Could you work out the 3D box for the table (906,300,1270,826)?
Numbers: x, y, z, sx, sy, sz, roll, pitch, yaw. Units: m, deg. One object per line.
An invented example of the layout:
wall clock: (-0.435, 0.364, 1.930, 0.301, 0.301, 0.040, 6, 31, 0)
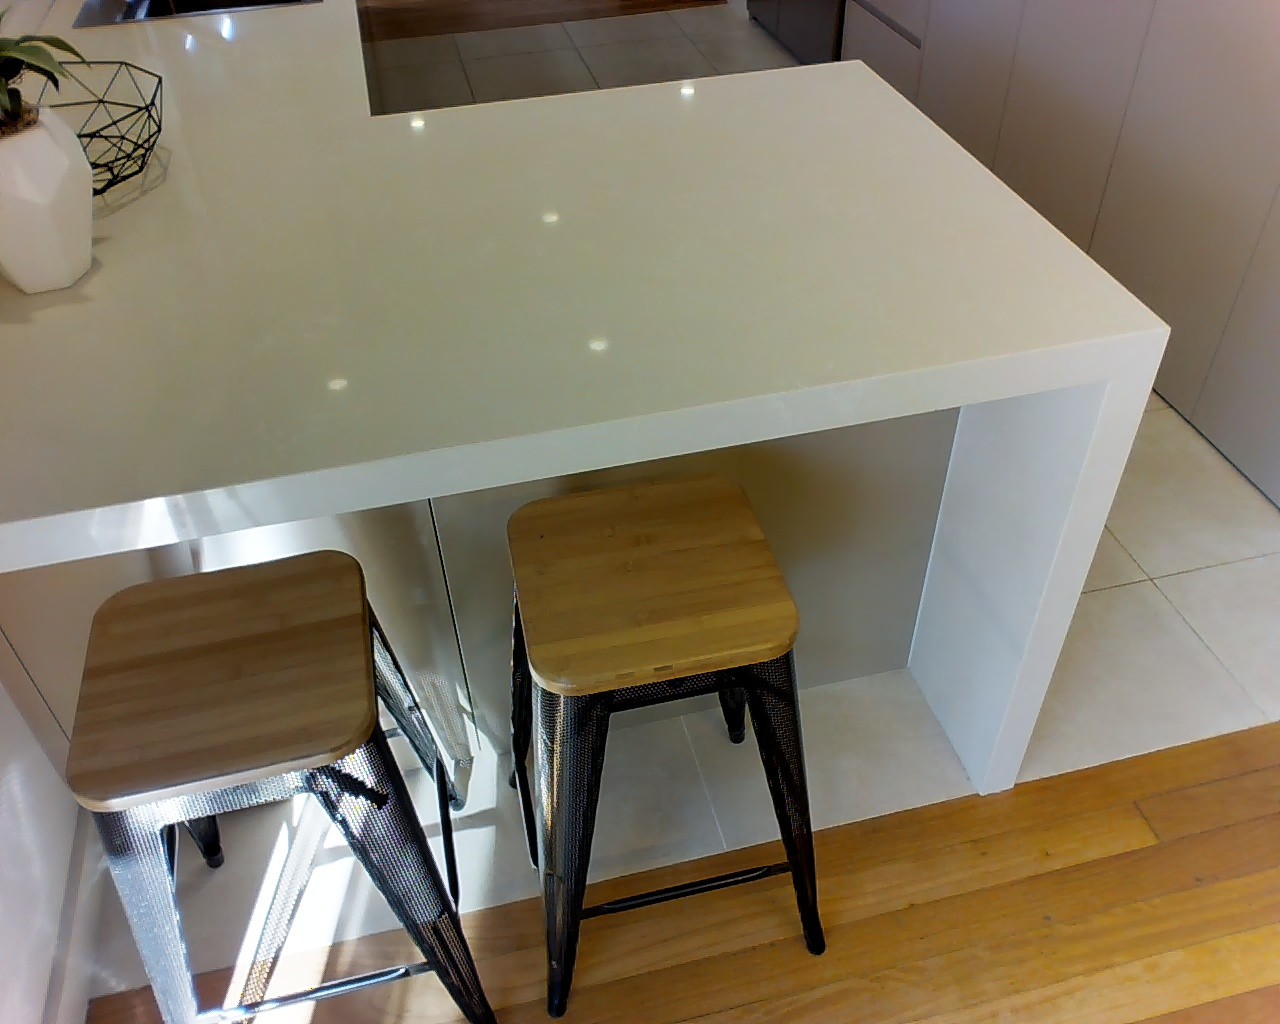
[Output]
table: (0.570, 0.130, 1.480, 0.280, 0.880, 0.060, -11, 42, -10)
